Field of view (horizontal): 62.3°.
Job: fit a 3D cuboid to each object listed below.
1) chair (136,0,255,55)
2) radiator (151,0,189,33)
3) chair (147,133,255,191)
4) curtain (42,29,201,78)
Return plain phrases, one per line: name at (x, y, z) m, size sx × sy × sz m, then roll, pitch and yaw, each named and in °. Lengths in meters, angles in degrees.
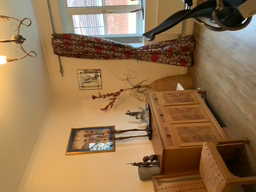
chair at (0.630, -0.750, 1.380) m, size 0.720 × 1.080 × 0.710 m, roll -100°, pitch 8°, yaw -60°
radiator at (0.630, -1.610, 3.050) m, size 0.120 × 0.520 × 1.360 m, roll -99°, pitch 7°, yaw -56°
chair at (0.720, 0.790, 2.090) m, size 0.530 × 0.960 × 0.550 m, roll -99°, pitch 7°, yaw -56°
curtain at (-0.070, -0.690, 3.430) m, size 0.250 × 2.380 × 0.610 m, roll -99°, pitch 7°, yaw -56°
